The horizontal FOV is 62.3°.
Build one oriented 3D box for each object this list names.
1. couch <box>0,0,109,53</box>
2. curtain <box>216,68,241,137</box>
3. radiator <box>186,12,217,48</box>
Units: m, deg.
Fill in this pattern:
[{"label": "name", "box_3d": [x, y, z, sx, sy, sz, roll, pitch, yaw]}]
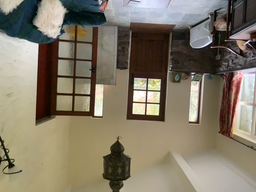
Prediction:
[{"label": "couch", "box_3d": [-0.750, -0.980, 1.970, 0.980, 0.850, 1.580, 3, -178, 0]}, {"label": "curtain", "box_3d": [1.930, 0.120, 4.100, 0.220, 1.280, 0.330, 3, -178, 0]}, {"label": "radiator", "box_3d": [1.320, -1.180, 3.890, 0.130, 0.450, 0.750, 3, -178, -13]}]
